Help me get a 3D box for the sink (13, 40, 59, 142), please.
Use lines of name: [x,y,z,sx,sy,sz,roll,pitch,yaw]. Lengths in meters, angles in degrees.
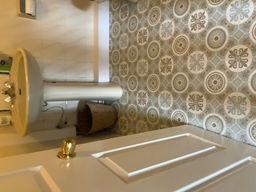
sink: [-0.690,-0.040,1.570,0.390,0.210,0.650,4,94,51]
